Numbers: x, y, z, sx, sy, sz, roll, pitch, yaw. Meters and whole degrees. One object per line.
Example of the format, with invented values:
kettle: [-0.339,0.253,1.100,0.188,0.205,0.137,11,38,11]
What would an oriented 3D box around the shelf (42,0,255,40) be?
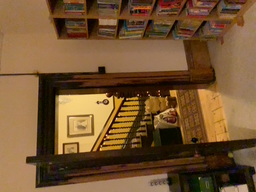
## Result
shelf: [0.240,-1.020,2.070,1.180,2.030,0.360,116,150,-71]
